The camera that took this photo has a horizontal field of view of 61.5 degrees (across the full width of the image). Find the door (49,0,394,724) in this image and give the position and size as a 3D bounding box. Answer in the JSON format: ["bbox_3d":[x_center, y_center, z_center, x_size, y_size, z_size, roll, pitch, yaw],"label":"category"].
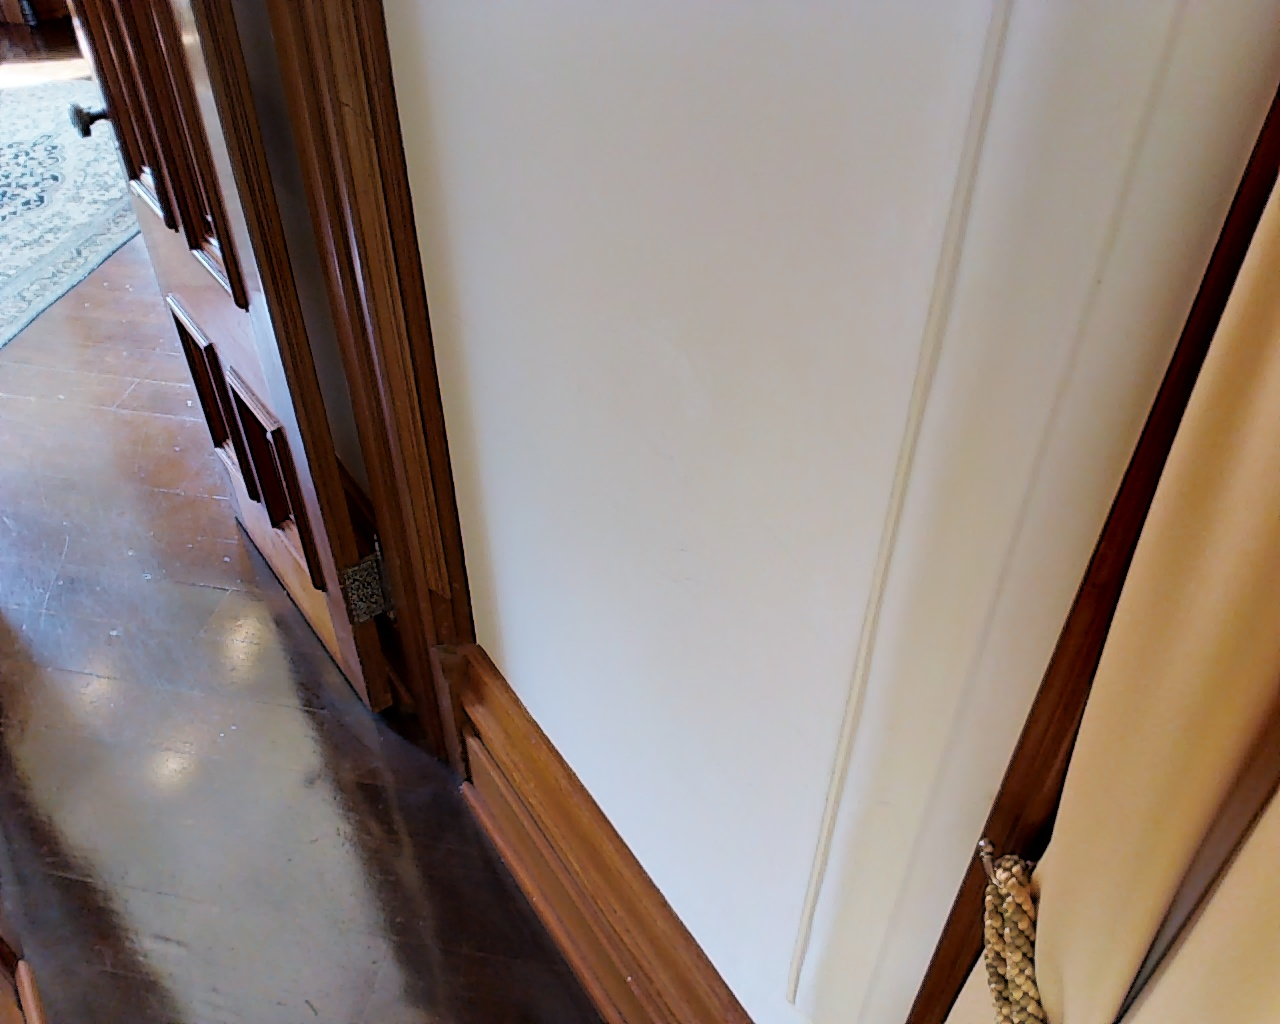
[{"bbox_3d":[-0.690,-0.690,1.420,0.090,2.250,0.780,-24,48,-24],"label":"door"}]
